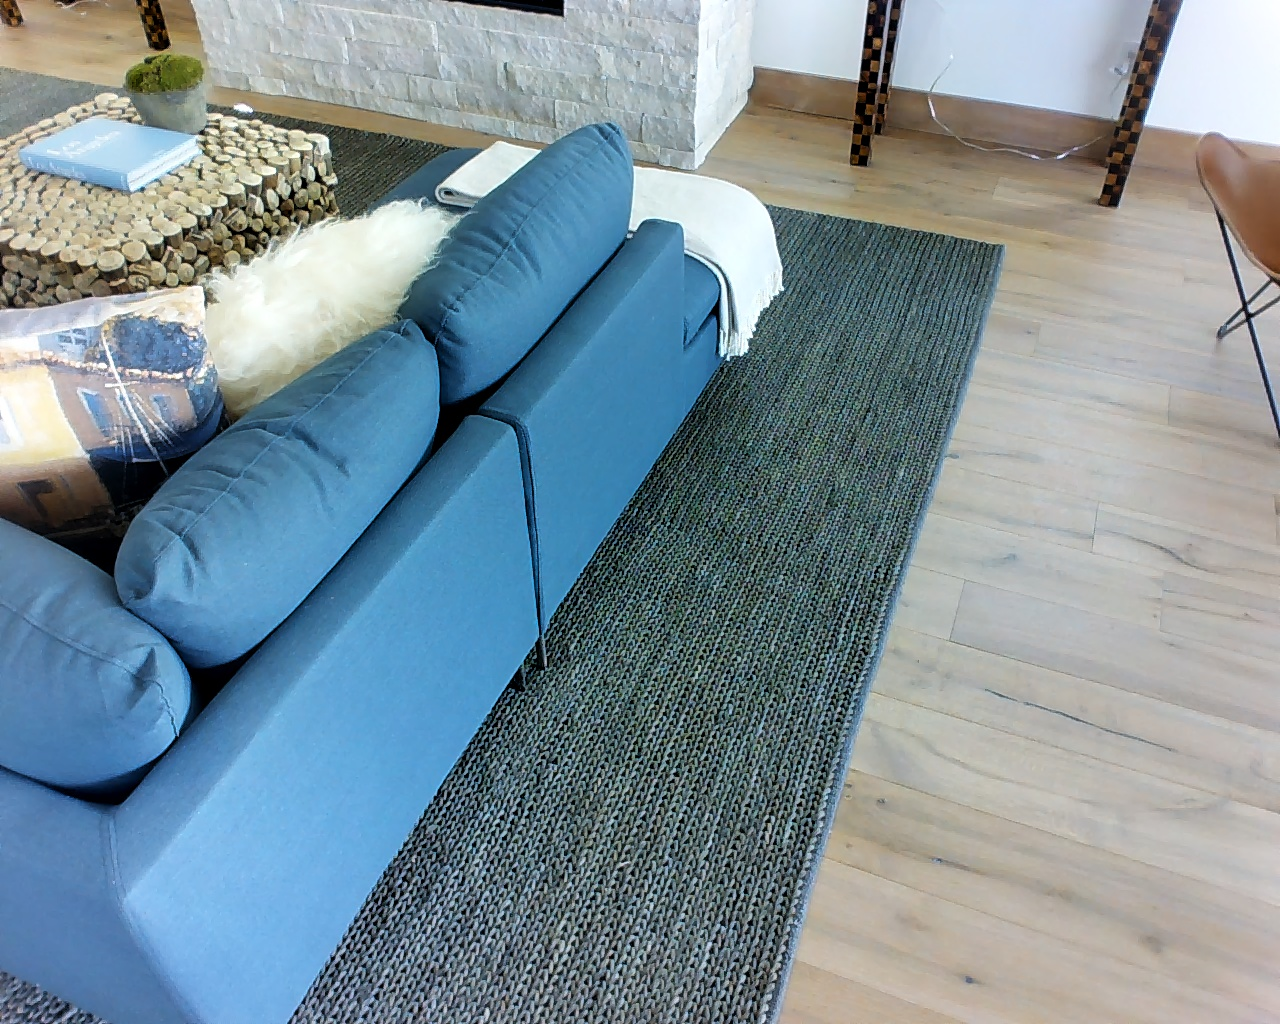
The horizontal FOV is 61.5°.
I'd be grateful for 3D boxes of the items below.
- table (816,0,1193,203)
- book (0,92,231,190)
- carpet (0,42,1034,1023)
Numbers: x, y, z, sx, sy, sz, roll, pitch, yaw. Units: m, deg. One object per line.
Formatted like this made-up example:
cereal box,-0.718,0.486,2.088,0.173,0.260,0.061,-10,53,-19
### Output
table,1.190,-1.560,3.550,1.040,0.760,0.440,16,44,16
book,-1.330,-0.950,2.730,0.430,0.050,0.340,17,44,17
carpet,-1.450,-0.460,2.850,4.480,0.060,3.160,15,44,16
